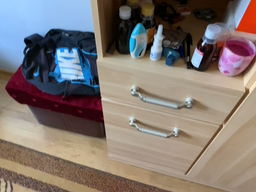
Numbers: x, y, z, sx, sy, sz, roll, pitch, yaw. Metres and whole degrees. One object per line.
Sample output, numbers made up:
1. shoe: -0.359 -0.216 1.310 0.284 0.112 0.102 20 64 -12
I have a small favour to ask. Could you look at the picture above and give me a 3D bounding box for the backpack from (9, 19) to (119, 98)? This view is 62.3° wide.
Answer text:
1. backpack: -0.270 -0.180 0.990 0.400 0.160 0.250 14 55 7
